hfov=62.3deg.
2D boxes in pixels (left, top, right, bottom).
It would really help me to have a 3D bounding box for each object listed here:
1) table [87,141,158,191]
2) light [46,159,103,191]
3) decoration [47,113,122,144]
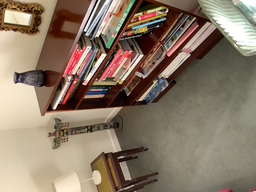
[{"bbox_3d":[-0.060,0.720,2.060,0.330,0.500,0.400,-47,55,42],"label":"table"},{"bbox_3d":[-0.460,0.730,1.830,0.240,0.380,0.220,-49,54,41],"label":"light"},{"bbox_3d":[-0.450,0.340,2.340,0.190,0.790,0.250,-16,78,51],"label":"decoration"}]
